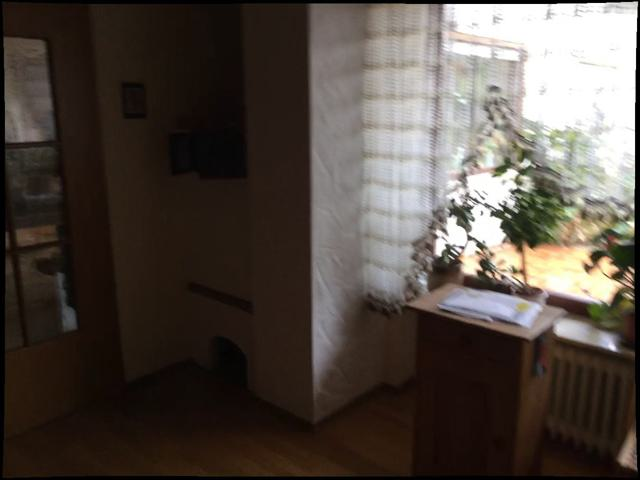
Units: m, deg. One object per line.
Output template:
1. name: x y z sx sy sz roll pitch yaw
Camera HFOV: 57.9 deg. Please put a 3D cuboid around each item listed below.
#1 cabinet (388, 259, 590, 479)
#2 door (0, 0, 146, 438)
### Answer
1. cabinet: 0.659 0.571 2.310 0.560 0.811 0.490 13 19 38
2. door: -1.339 -0.110 2.460 0.170 1.912 1.130 13 19 38
